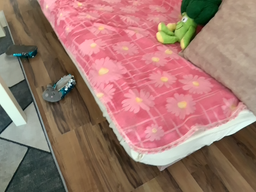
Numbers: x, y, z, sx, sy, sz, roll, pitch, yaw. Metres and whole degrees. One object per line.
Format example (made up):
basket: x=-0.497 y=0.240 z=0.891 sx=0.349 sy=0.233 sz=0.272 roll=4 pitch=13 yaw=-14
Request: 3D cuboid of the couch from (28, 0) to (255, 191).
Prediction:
couch: x=-0.050 y=-0.710 z=1.240 sx=0.970 sy=0.890 sz=2.070 roll=-22 pitch=55 yaw=-18
